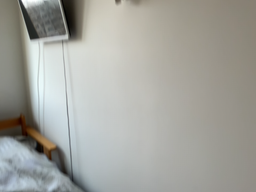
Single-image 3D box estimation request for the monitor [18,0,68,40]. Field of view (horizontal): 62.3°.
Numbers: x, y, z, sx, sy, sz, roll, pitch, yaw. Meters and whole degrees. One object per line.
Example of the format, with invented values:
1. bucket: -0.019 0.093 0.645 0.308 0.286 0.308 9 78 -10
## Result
1. monitor: -0.680 -0.650 1.640 0.060 0.380 0.760 5 5 -44
